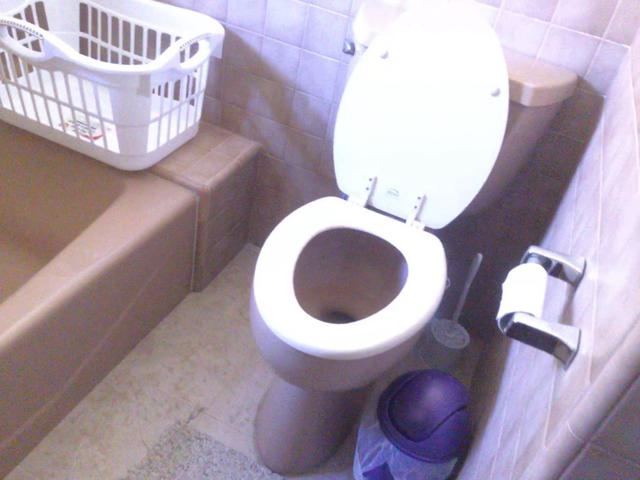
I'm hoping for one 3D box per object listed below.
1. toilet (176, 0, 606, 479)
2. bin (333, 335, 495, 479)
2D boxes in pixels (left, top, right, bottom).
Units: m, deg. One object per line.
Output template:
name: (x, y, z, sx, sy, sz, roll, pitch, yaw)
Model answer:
toilet: (0.130, 0.010, 1.210, 0.510, 0.890, 0.730, 21, 38, 13)
bin: (0.180, 0.410, 1.180, 0.220, 0.310, 0.210, 21, 38, 13)
